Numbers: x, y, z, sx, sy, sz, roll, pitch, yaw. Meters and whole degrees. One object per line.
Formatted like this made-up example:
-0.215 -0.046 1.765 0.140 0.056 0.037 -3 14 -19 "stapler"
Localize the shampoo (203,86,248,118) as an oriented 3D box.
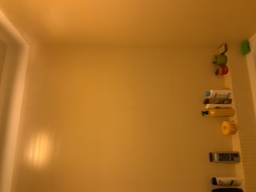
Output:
0.780 0.050 1.710 0.070 0.310 0.250 101 169 -75 "shampoo"
